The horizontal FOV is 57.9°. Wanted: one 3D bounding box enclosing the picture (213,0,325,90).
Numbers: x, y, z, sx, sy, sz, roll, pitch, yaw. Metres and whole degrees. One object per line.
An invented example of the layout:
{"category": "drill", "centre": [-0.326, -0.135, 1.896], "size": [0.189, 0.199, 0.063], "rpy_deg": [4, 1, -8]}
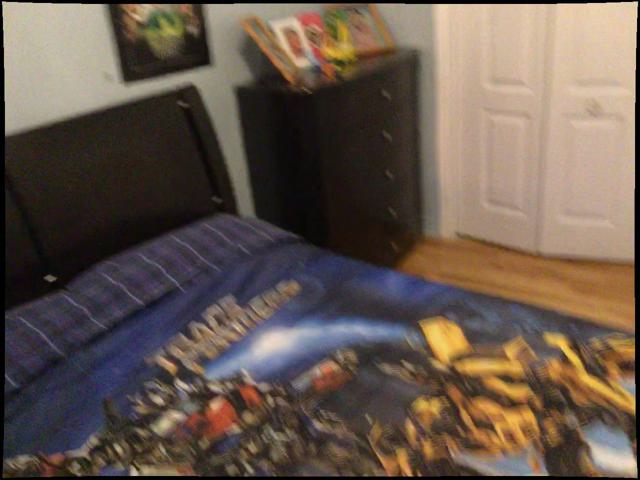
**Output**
{"category": "picture", "centre": [-0.190, -0.761, 2.250], "size": [0.270, 0.270, 0.290], "rpy_deg": [13, 33, 36]}

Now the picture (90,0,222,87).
{"category": "picture", "centre": [-0.569, -0.851, 1.960], "size": [0.060, 0.550, 0.450], "rpy_deg": [13, 33, 35]}

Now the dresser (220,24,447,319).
{"category": "dresser", "centre": [0.140, -0.360, 2.630], "size": [0.480, 1.021, 0.910], "rpy_deg": [13, 33, 35]}

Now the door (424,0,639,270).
{"category": "door", "centre": [0.929, -0.931, 2.280], "size": [1.069, 2.132, 0.160], "rpy_deg": [13, 33, 35]}
